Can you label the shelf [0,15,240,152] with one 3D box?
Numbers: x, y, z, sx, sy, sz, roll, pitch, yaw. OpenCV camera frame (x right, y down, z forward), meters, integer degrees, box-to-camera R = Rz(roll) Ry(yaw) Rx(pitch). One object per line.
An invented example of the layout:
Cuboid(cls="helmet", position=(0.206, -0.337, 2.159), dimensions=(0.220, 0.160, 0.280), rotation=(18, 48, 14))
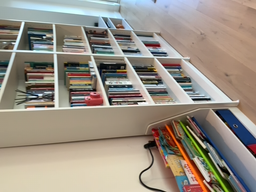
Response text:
Cuboid(cls="shelf", position=(-0.370, -0.280, 2.010), dimensions=(1.660, 2.060, 0.310), rotation=(-117, 32, -50))
